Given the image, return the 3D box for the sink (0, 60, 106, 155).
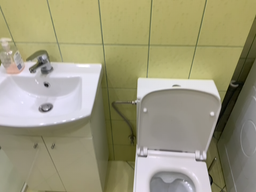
[{"bbox_3d":[-0.370,0.030,0.930,0.490,0.180,0.380,2,42,3],"label":"sink"}]
